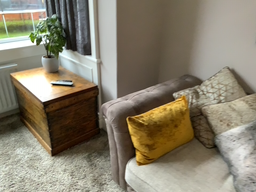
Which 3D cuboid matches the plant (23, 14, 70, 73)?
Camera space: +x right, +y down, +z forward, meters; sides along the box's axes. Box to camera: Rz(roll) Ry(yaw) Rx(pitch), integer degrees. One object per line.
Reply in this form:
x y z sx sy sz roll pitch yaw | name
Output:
-0.890 -0.590 2.340 0.310 0.550 0.330 -21 35 -36 | plant

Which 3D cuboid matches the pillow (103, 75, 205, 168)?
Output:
0.230 0.220 1.560 0.270 0.440 0.670 29 -2 43 | pillow
